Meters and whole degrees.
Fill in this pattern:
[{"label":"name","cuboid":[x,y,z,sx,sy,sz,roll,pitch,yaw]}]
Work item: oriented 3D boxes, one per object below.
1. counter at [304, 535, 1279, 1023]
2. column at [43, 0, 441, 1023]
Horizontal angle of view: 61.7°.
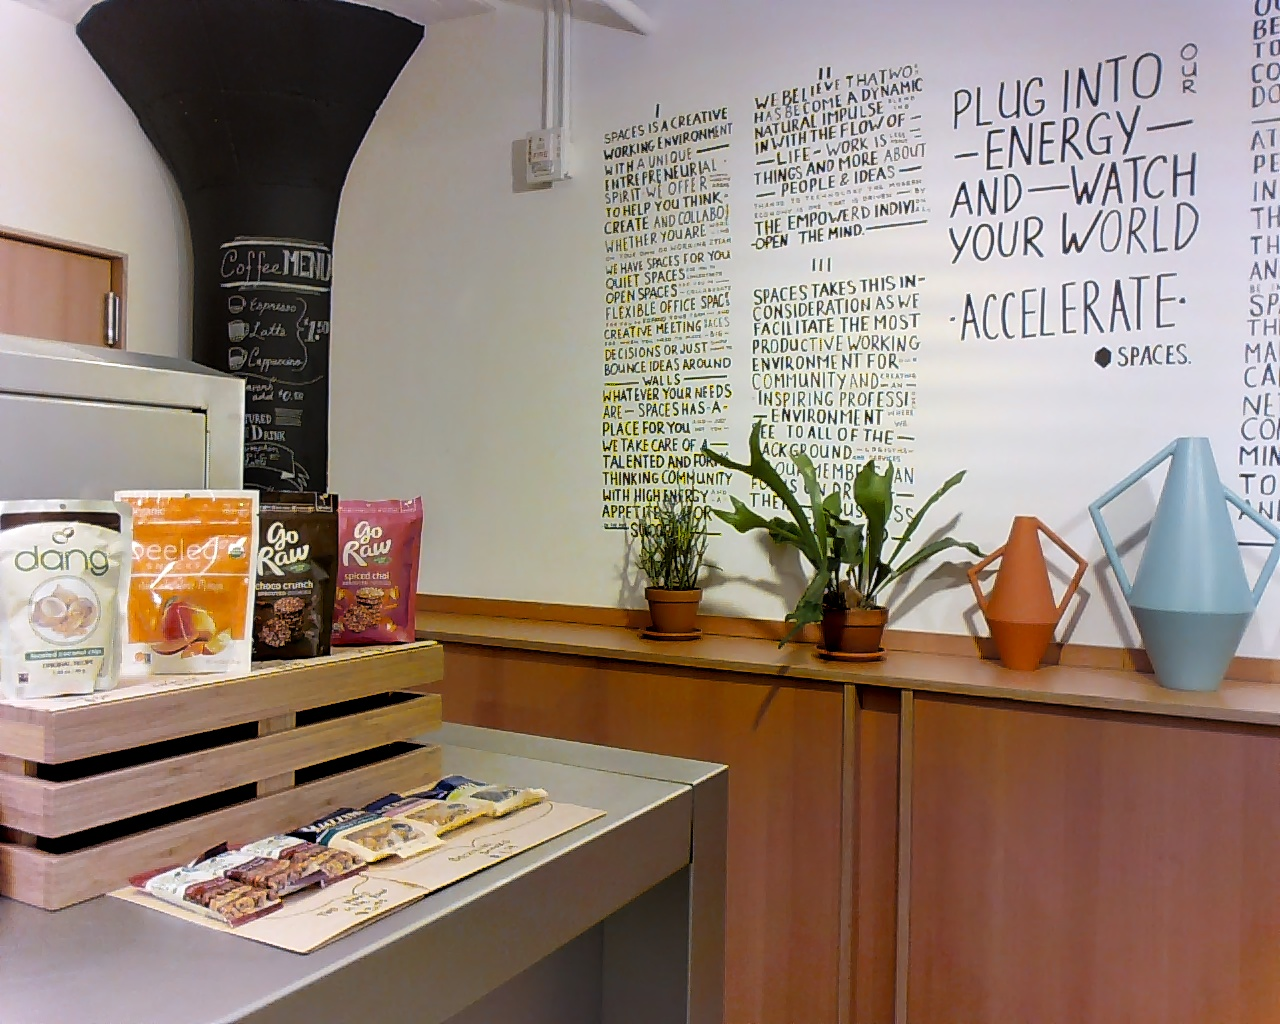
[{"label":"counter","cuboid":[0.530,0.750,2.500,3.209,1.290,0.330,1,1,28]},{"label":"column","cuboid":[-1.250,-0.060,3.370,1.030,2.901,0.600,1,1,28]}]
